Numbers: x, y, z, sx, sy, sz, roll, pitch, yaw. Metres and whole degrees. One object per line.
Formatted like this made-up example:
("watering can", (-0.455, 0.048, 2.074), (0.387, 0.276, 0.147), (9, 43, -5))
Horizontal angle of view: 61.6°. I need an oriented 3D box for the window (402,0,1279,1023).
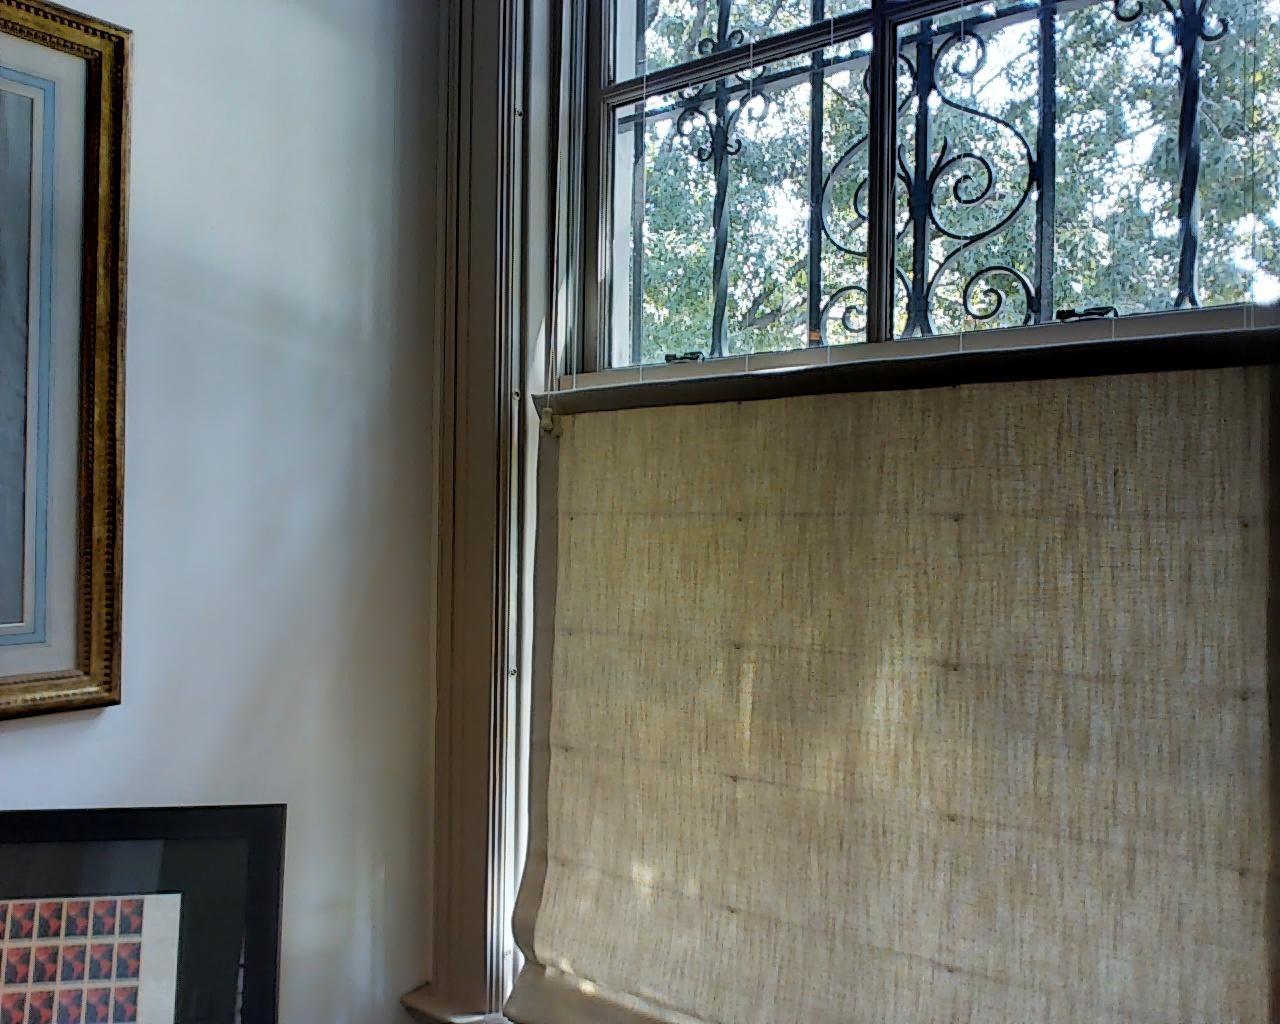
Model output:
("window", (0.260, -0.230, 1.450), (1.360, 2.100, 0.350), (1, 0, 39))
